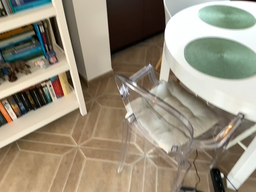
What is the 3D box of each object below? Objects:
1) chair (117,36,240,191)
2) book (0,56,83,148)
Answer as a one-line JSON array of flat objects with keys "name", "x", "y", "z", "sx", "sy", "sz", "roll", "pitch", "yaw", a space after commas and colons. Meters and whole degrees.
[{"name": "chair", "x": 0.220, "y": 0.150, "z": 1.240, "sx": 0.380, "sy": 0.800, "sz": 0.390, "roll": -28, "pitch": 51, "yaw": -26}, {"name": "book", "x": -0.920, "y": 0.120, "z": 1.470, "sx": 1.130, "sy": 0.300, "sz": 0.350, "roll": -27, "pitch": 51, "yaw": -24}]
